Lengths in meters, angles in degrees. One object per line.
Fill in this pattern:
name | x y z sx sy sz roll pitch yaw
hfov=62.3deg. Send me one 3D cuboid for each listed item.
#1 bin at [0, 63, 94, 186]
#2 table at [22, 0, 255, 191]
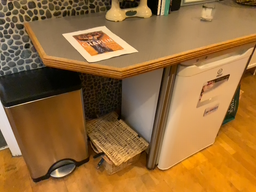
bin | -0.470 0.180 1.310 0.400 0.630 0.280 -19 43 -26
table | 0.360 -0.080 1.460 1.710 0.920 0.620 -18 43 -25
